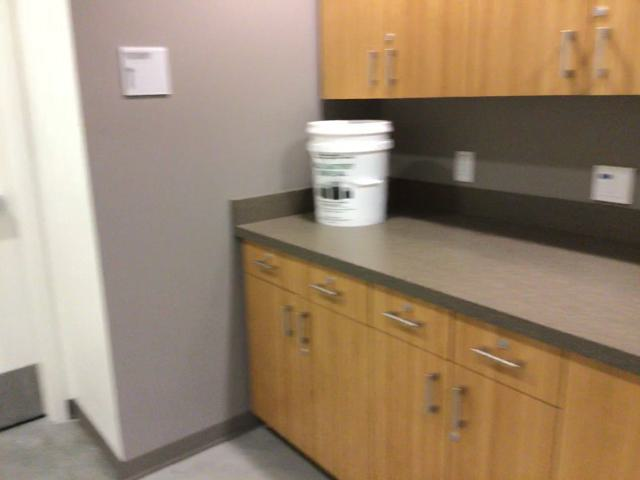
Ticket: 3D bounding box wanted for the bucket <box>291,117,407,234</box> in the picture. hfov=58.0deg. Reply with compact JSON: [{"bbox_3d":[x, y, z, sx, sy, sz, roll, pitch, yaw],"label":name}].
[{"bbox_3d":[0.100,-0.260,2.190,0.280,0.380,0.330,-10,19,-36],"label":"bucket"}]
